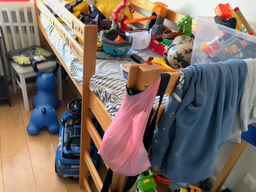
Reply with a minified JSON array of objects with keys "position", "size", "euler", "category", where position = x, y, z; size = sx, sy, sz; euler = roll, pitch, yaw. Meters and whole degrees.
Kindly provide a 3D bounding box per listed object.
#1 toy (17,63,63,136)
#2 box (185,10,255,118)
[{"position":[-0.760,0.020,1.930],"size":[0.300,0.460,0.480],"euler":[1,33,-14],"category":"toy"},{"position":[0.610,-0.190,1.110],"size":[0.330,0.390,0.400],"euler":[-9,37,-28],"category":"box"}]
